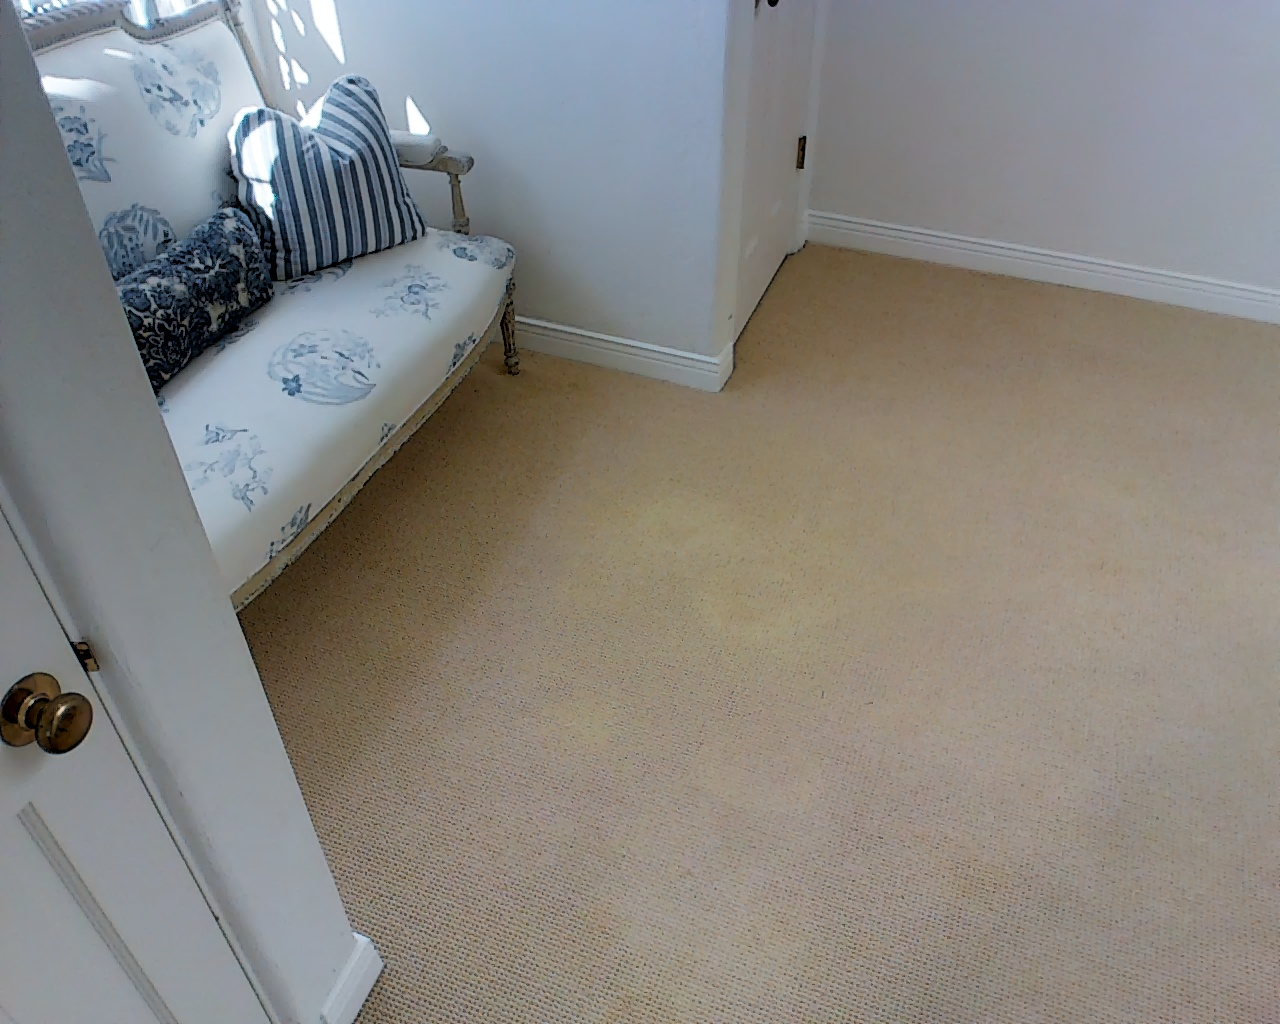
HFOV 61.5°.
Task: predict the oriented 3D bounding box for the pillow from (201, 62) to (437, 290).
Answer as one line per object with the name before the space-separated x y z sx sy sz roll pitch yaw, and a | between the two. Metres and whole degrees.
pillow | -0.710 -0.770 2.450 0.320 0.350 0.340 15 44 16

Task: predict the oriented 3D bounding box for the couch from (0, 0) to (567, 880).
couch | -0.870 -0.400 2.130 0.750 1.040 1.710 15 44 16
